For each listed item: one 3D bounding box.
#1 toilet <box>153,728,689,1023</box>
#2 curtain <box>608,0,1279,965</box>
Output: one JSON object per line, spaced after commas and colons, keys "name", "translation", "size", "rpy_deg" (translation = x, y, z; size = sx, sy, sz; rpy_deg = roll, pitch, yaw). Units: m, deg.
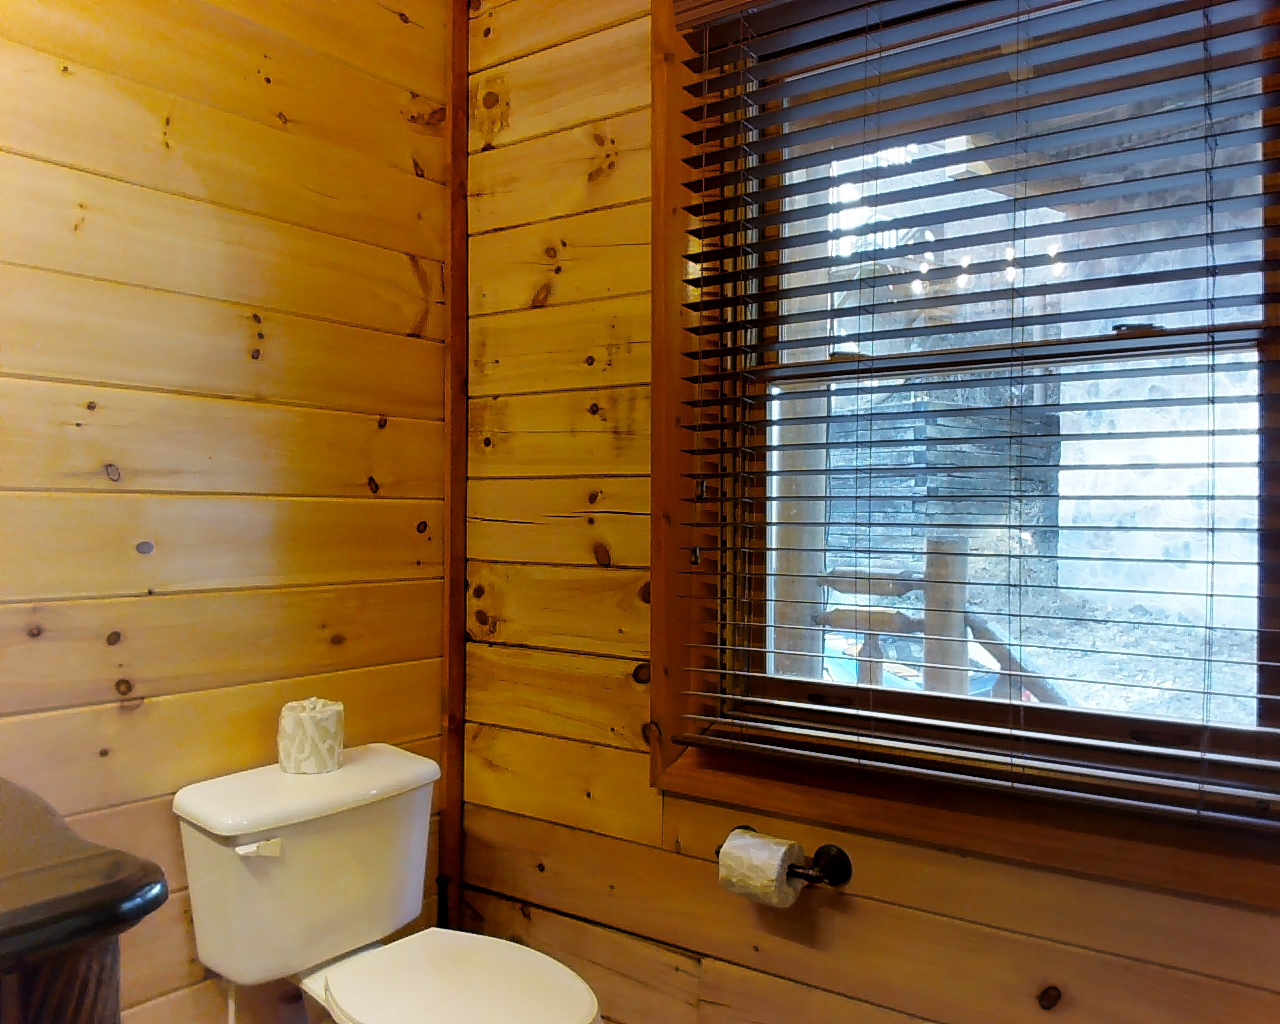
{"name": "toilet", "translation": [-0.380, 0.810, 1.840], "size": [0.760, 0.710, 0.520], "rpy_deg": [0, 0, 37]}
{"name": "curtain", "translation": [0.920, -0.210, 1.480], "size": [2.200, 1.571, 0.300], "rpy_deg": [0, 0, 37]}
